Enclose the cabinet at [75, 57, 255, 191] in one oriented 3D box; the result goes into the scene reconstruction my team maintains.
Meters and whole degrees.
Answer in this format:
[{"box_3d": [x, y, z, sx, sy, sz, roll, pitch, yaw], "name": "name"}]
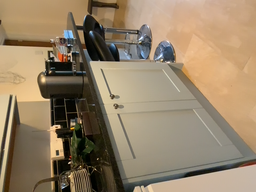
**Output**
[{"box_3d": [0.160, 0.250, 1.580, 1.050, 0.930, 0.590, -115, 31, -46], "name": "cabinet"}]
